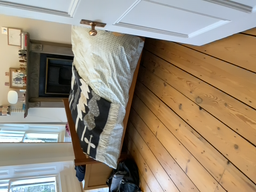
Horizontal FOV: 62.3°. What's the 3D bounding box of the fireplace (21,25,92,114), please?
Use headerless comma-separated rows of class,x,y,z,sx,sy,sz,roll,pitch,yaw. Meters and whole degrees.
fireplace,-1.560,-0.500,4.520,0.560,1.240,1.690,-129,46,-57

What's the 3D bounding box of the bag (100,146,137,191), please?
bag,-0.130,0.930,2.430,0.410,0.220,0.560,-130,48,-58
